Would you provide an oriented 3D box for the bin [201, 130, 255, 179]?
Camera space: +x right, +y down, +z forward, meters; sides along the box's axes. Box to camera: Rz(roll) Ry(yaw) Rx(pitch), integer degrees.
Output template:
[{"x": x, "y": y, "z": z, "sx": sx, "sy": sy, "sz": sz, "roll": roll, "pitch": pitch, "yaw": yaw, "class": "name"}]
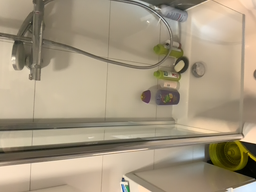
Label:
[{"x": 0.700, "y": 0.380, "z": 1.460, "sx": 0.240, "sy": 0.280, "sz": 0.240, "roll": 6, "pitch": 93, "yaw": 57, "class": "bin"}]
